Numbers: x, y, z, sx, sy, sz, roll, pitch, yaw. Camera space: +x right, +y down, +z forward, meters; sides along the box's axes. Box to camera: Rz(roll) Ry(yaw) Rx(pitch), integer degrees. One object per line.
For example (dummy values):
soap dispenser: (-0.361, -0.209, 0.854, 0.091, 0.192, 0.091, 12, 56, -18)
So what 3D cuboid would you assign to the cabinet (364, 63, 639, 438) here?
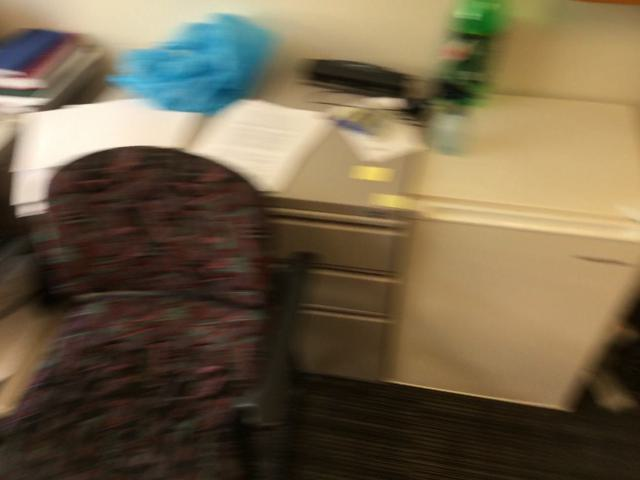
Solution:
cabinet: (0.430, 0.030, 1.420, 0.570, 0.750, 0.450, 6, 41, 12)

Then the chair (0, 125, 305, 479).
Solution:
chair: (-0.400, 0.150, 1.030, 0.600, 0.450, 0.550, 6, 41, 12)

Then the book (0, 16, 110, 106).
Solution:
book: (-0.730, -0.460, 1.460, 0.250, 0.100, 0.290, 6, 41, 12)
